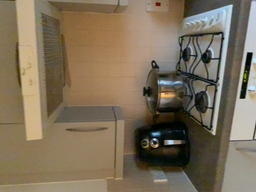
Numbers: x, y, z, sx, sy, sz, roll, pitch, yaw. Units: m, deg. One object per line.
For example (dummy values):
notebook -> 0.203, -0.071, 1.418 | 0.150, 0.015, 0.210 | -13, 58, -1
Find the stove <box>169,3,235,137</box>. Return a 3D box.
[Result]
stove -> 0.360, -0.160, 1.180 | 0.560, 0.030, 0.580 | -120, 30, -73

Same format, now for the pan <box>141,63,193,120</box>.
pan -> 0.220, -0.040, 1.300 | 0.270, 0.220, 0.290 | -119, 30, -73
